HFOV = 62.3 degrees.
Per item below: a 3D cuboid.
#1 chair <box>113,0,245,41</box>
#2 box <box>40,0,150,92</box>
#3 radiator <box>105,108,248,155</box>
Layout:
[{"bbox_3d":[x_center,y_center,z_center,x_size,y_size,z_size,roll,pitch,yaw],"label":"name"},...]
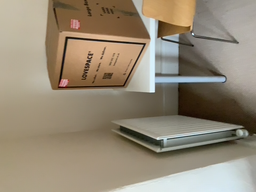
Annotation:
[{"bbox_3d":[0.360,-0.650,1.450,0.380,0.830,0.400,12,101,61],"label":"chair"},{"bbox_3d":[-0.250,-0.470,1.390,0.610,0.530,0.850,7,98,61],"label":"box"},{"bbox_3d":[0.320,0.210,1.580,0.700,0.760,0.110,11,101,61],"label":"radiator"}]
